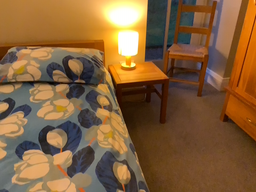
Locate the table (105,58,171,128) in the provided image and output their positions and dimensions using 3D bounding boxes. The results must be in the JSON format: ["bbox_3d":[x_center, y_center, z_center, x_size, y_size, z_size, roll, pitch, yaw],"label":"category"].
[{"bbox_3d":[0.060,-0.050,1.980,0.470,0.440,0.470,-6,31,-13],"label":"table"}]

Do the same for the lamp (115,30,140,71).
[{"bbox_3d":[-0.010,-0.400,1.850,0.180,0.300,0.170,-5,31,-12],"label":"lamp"}]
